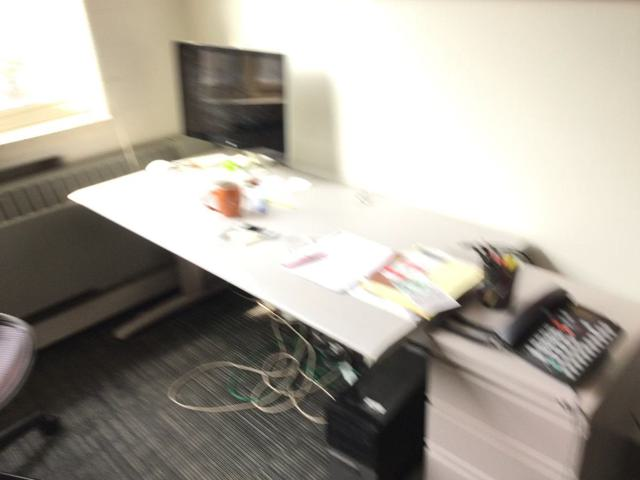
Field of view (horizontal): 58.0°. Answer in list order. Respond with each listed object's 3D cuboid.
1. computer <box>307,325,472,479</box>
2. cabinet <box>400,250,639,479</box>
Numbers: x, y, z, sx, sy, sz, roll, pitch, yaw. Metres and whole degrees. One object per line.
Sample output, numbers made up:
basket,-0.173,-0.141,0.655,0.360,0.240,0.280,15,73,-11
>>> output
computer,0.230,0.560,1.800,0.460,0.370,0.250,-24,30,-37
cabinet,0.570,0.490,1.560,0.550,0.700,0.430,-24,30,-37
